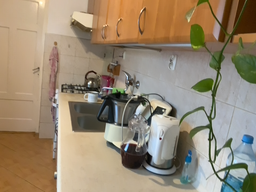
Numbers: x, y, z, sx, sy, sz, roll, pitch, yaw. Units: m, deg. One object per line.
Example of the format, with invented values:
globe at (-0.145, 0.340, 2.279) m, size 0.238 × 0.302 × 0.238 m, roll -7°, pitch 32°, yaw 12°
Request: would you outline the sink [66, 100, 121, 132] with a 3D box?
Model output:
sink at (-0.340, 0.180, 1.980) m, size 0.440 × 0.170 × 0.380 m, roll 5°, pitch 12°, yaw -19°
